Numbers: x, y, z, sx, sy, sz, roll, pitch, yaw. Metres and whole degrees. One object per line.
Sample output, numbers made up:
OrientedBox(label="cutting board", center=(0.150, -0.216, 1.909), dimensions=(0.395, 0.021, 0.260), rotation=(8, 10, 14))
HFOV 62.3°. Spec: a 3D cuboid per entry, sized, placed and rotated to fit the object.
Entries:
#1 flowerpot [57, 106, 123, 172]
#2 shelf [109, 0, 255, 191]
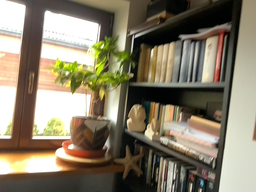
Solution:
OrientedBox(label="flowerpot", center=(-0.290, 0.290, 1.550), dimensions=(0.350, 0.380, 0.340), rotation=(6, 1, -29))
OrientedBox(label="shelf", center=(0.220, 0.580, 1.200), dimensions=(0.310, 2.000, 0.890), rotation=(6, 1, -28))
